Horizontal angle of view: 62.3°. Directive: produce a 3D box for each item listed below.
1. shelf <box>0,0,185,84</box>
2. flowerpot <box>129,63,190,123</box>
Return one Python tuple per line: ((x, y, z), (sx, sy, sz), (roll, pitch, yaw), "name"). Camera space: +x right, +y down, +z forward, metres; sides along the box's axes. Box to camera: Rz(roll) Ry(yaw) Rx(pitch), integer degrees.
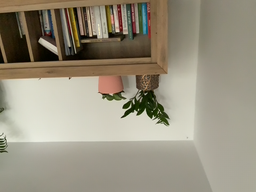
((-0.440, -0.340, 1.230), (1.440, 0.440, 0.350), (-1, -159, 6), "shelf")
((0.190, -0.020, 1.320), (0.340, 0.330, 0.180), (-1, -159, 6), "flowerpot")
